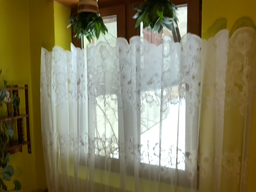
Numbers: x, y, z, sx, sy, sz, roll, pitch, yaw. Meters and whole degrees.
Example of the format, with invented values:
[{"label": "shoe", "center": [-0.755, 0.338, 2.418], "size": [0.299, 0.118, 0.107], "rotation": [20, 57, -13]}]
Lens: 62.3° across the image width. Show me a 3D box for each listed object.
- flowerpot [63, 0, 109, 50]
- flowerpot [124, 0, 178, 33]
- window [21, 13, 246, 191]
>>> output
[{"label": "flowerpot", "center": [-0.330, -0.610, 1.710], "size": [0.270, 0.420, 0.240], "rotation": [2, -175, 27]}, {"label": "flowerpot", "center": [0.160, -0.640, 1.410], "size": [0.300, 0.360, 0.250], "rotation": [2, -175, 24]}, {"label": "window", "center": [-0.100, 0.330, 1.480], "size": [1.550, 1.520, 0.190], "rotation": [2, -175, 26]}]
